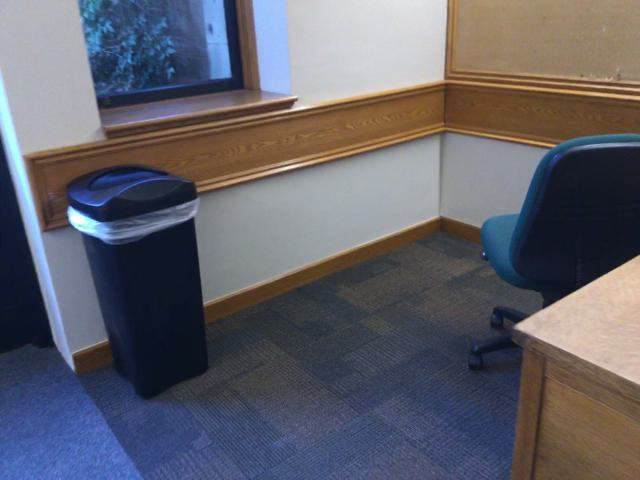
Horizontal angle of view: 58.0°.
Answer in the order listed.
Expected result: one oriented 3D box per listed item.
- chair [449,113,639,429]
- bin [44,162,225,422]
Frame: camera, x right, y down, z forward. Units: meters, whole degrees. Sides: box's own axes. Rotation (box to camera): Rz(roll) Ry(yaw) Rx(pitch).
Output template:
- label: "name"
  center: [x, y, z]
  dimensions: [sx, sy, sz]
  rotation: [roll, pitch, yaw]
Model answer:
- label: "chair"
  center: [0.880, 0.050, 2.110]
  dimensions: [0.640, 0.960, 0.660]
  rotation: [6, 13, 7]
- label: "bin"
  center: [-0.680, 0.170, 2.170]
  dimensions: [0.380, 0.830, 0.360]
  rotation: [-20, 23, -34]
